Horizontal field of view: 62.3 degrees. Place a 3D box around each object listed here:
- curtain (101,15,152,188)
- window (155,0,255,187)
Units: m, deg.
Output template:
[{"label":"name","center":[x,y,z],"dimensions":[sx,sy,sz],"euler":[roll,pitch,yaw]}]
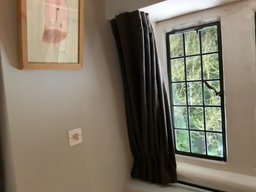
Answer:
[{"label":"curtain","center":[-0.010,0.050,1.410],"dimensions":[0.240,1.070,0.090],"euler":[-1,-174,37]},{"label":"window","center":[0.650,-0.020,1.240],"dimensions":[0.950,1.070,0.110],"euler":[-1,-174,34]}]
